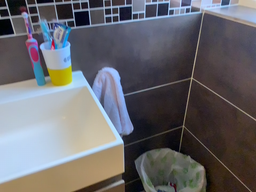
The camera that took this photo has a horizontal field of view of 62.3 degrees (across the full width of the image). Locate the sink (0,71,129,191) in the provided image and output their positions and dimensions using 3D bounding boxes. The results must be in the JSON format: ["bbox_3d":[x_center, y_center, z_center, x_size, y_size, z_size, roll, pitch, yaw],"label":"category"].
[{"bbox_3d":[-0.440,0.150,0.500,0.800,0.130,0.380,-14,35,-20],"label":"sink"}]
